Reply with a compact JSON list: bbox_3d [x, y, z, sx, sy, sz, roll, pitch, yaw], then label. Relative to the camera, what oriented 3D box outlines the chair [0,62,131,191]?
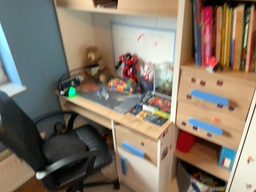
[{"bbox_3d":[-0.420,0.410,1.510,0.660,1.030,0.620,-16,34,-20],"label":"chair"}]
